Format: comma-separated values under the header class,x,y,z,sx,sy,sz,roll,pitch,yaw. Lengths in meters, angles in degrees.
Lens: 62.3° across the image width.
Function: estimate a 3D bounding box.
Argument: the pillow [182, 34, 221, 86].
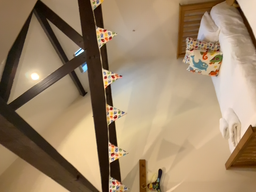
class,x,y,z,sx,sy,sz,roll,pitch,yaw
pillow,1.050,-0.520,3.130,0.530,0.400,0.480,77,-168,-54
